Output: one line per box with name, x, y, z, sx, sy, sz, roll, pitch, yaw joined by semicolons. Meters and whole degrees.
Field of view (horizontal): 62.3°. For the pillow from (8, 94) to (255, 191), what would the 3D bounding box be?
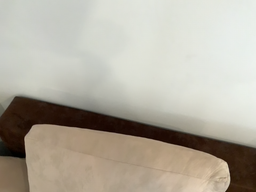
pillow;0.000;0.340;0.780;0.720;0.500;0.280;11;20;-9
